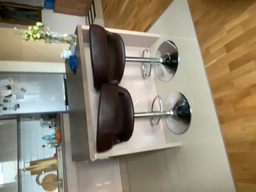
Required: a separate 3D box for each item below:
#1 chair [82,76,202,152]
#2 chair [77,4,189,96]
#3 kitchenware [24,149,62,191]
[{"bbox_3d":[0.100,0.160,1.890,0.500,0.870,0.510,144,121,-60],"label":"chair"},{"bbox_3d":[0.020,-0.380,2.030,0.500,0.860,0.620,144,121,-60],"label":"chair"},{"bbox_3d":[-1.380,1.210,3.430,0.160,0.540,0.610,144,121,-60],"label":"kitchenware"}]
